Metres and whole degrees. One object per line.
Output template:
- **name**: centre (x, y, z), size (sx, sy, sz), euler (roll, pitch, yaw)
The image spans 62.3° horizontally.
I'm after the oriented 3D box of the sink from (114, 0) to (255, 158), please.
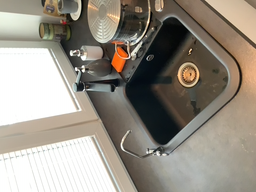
- **sink**: centre (0.210, -0.060, 0.910), size (0.400, 0.210, 0.510), euler (57, 136, 27)
